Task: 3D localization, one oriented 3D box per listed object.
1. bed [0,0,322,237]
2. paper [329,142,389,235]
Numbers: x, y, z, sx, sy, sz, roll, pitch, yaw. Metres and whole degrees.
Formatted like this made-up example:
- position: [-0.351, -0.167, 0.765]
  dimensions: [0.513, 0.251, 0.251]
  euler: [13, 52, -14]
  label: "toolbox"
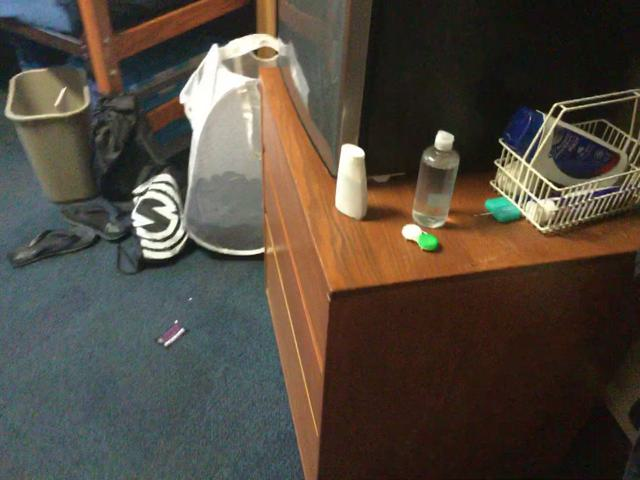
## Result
- position: [-1.230, -1.190, 2.370]
  dimensions: [2.250, 1.240, 1.100]
  euler: [23, 43, 21]
  label: "bed"
- position: [0.060, -0.080, 0.910]
  dimensions: [0.060, 0.120, 0.060]
  euler: [23, 43, 21]
  label: "paper"
